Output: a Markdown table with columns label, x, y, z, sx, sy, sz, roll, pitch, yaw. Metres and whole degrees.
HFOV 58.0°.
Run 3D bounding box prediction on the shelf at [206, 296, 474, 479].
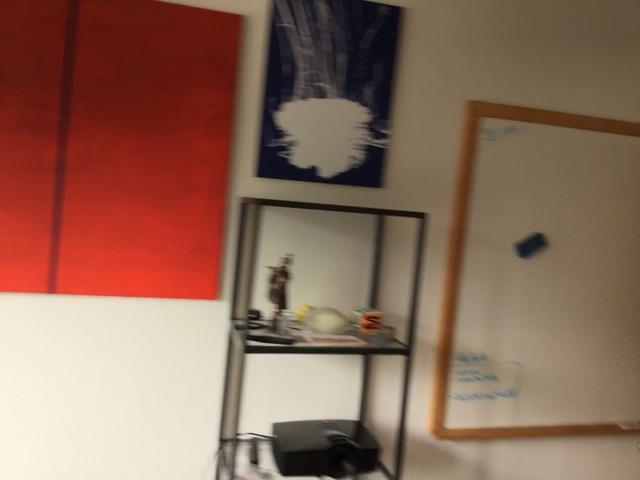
| label | x | y | z | sx | sy | sz | roll | pitch | yaw |
| --- | --- | --- | --- | --- | --- | --- | --- | --- | --- |
| shelf | -0.040 | 0.920 | 1.650 | 0.540 | 1.400 | 0.650 | 5 | 2 | -15 |

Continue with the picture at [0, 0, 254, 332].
| label | x | y | z | sx | sy | sz | roll | pitch | yaw |
| --- | --- | --- | --- | --- | --- | --- | --- | --- | --- |
| picture | -0.850 | -0.300 | 1.620 | 1.240 | 1.060 | 0.090 | 5 | 2 | -15 |

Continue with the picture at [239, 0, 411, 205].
| label | x | y | z | sx | sy | sz | roll | pitch | yaw |
| --- | --- | --- | --- | --- | --- | --- | --- | --- | --- |
| picture | 0.020 | -0.480 | 1.850 | 0.490 | 0.690 | 0.060 | 5 | 2 | -15 |
